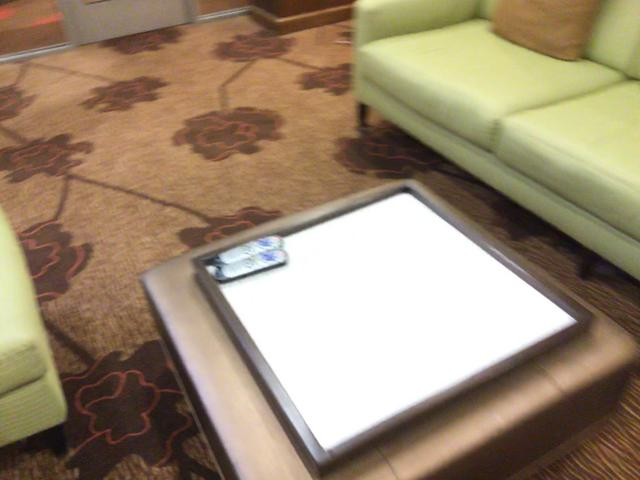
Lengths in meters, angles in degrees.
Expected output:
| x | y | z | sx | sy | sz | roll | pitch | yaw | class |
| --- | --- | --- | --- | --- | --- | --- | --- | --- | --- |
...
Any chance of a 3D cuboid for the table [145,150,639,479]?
| x | y | z | sx | sy | sz | roll | pitch | yaw | class |
| --- | --- | --- | --- | --- | --- | --- | --- | --- | --- |
| 0.120 | 0.260 | 1.520 | 0.820 | 0.470 | 0.890 | -21 | 40 | -22 | table |
